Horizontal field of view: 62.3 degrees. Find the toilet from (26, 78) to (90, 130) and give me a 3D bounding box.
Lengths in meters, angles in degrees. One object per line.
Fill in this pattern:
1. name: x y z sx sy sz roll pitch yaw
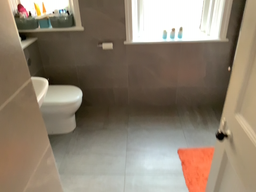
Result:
1. toilet: -0.740 0.080 2.360 0.520 0.450 0.350 2 31 5
